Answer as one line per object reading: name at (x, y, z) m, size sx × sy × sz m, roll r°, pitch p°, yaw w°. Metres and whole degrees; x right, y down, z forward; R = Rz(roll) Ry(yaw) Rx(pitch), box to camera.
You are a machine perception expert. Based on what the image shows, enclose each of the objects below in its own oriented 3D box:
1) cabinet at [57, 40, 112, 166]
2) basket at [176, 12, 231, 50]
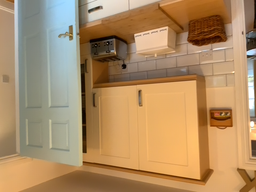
cabinet at (-0.470, 0.070, 2.290) m, size 0.450 × 1.210 × 0.330 m, roll -3°, pitch 179°, yaw 32°
basket at (0.590, -0.490, 1.650) m, size 0.350 × 0.160 × 0.260 m, roll -3°, pitch 179°, yaw 31°
